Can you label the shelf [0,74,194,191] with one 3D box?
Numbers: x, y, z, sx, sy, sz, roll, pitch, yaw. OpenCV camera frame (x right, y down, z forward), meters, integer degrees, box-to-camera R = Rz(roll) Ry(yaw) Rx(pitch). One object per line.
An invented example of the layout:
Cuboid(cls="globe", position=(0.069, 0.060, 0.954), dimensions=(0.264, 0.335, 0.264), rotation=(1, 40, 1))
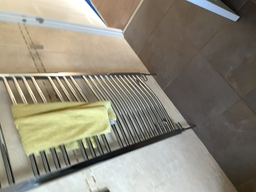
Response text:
Cuboid(cls="shelf", position=(-0.090, 0.090, 1.260), dimensions=(0.150, 1.190, 0.450), rotation=(-52, 59, 35))
